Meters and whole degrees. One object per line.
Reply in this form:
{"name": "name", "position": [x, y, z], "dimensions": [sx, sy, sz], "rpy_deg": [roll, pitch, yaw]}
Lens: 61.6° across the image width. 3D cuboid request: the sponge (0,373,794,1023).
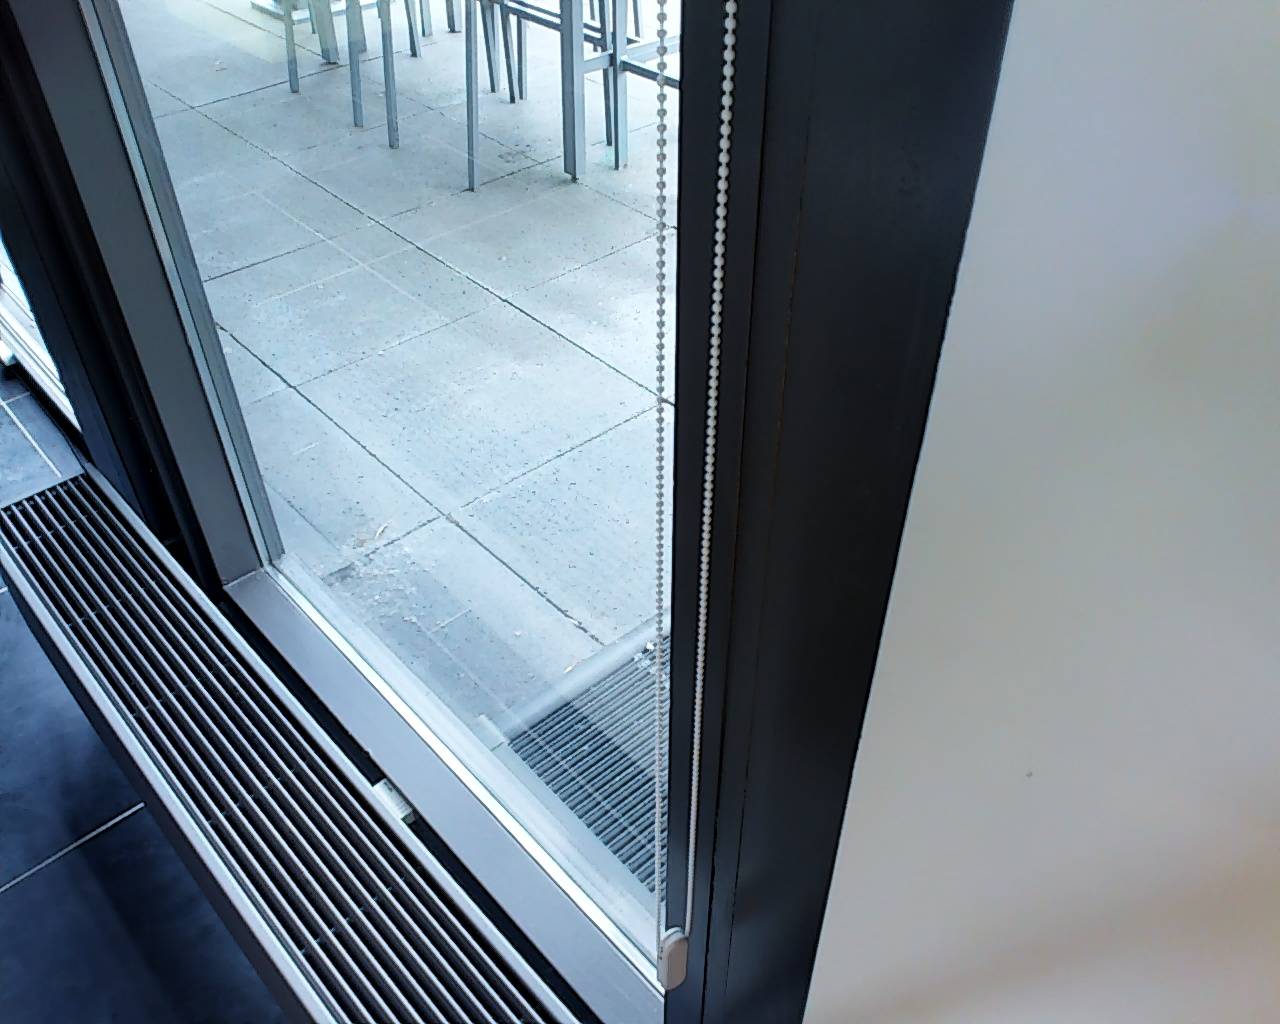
{"name": "sponge", "position": [-0.450, 0.340, 1.350], "dimensions": [0.360, 0.410, 1.340], "rpy_deg": [-31, 49, -31]}
